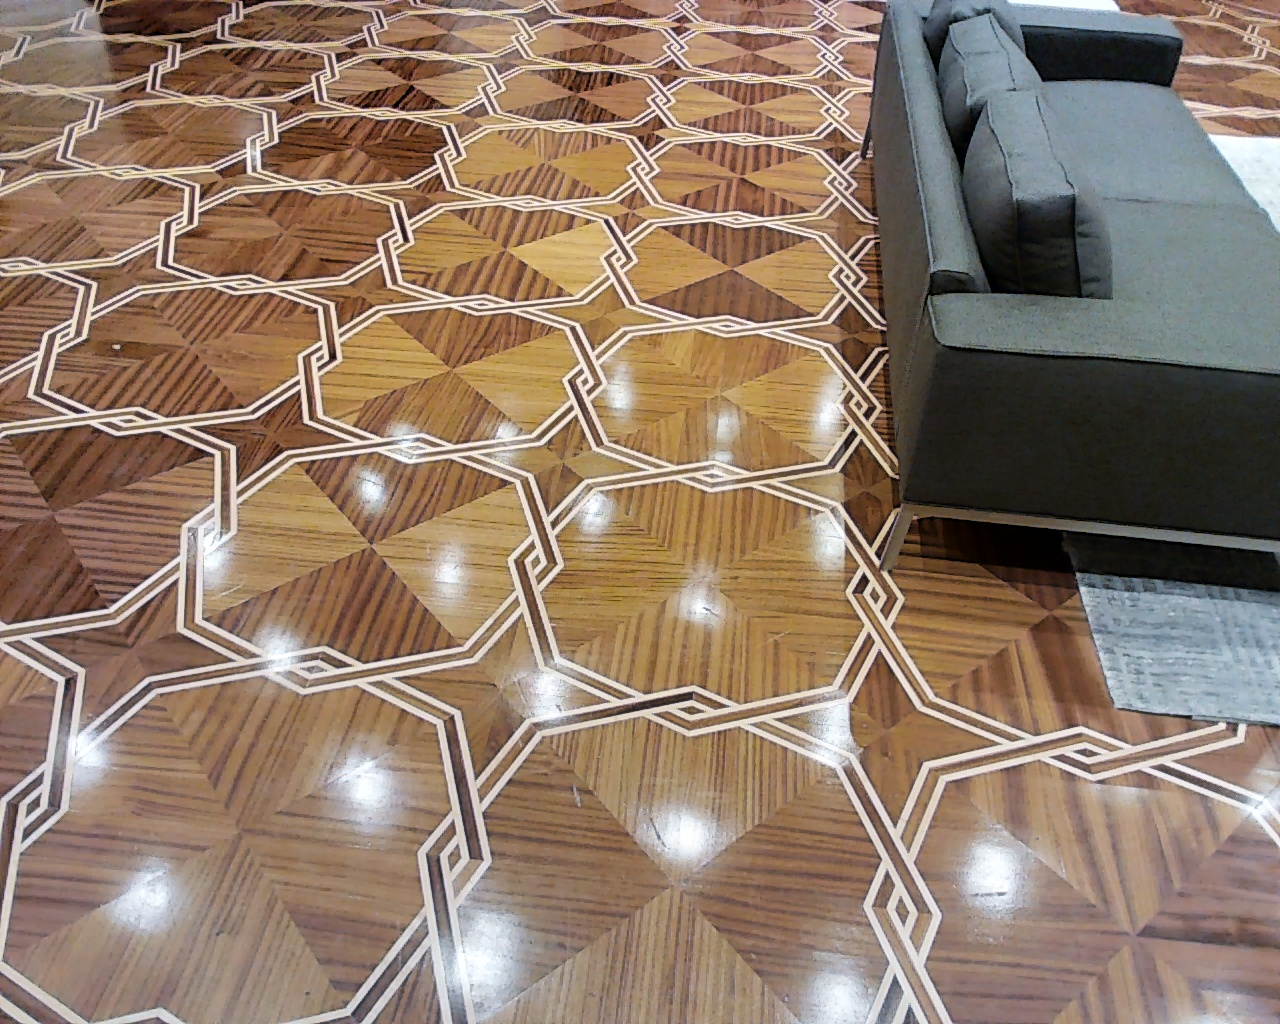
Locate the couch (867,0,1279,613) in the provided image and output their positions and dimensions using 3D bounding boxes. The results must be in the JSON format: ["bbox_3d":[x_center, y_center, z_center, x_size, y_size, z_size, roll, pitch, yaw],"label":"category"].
[{"bbox_3d":[1.290,-0.930,3.110,1.070,0.850,2.500,6,40,5],"label":"couch"}]
